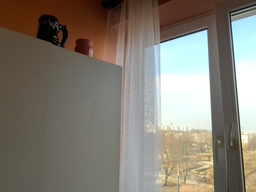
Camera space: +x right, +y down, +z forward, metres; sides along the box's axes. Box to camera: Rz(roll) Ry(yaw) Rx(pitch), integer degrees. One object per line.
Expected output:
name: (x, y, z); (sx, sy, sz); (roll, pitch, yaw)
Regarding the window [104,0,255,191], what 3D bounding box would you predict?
window: (0.510, 0.250, 1.190); (1.630, 1.950, 0.220); (-7, -11, 41)
